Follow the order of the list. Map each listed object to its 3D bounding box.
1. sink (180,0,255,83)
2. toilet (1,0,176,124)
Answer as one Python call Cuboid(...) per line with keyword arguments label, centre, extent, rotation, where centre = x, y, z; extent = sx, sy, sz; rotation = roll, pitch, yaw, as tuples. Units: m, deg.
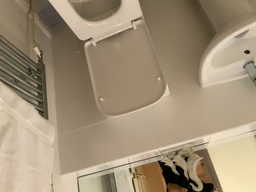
Cuboid(label="sink", centre=(0.470, -0.260, 0.880), extent=(0.460, 0.140, 0.350), rotation=(-18, 155, 8))
Cuboid(label="toilet", centre=(-0.140, -0.400, 0.970), extent=(0.430, 0.830, 0.620), rotation=(-18, 155, 8))
